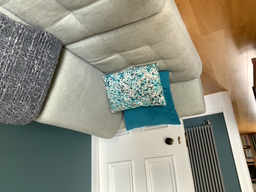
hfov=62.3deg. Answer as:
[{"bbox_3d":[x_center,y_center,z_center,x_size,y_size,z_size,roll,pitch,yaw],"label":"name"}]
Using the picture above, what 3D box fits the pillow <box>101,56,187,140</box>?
[{"bbox_3d":[0.100,0.010,1.460,0.400,0.400,0.160,-49,149,4],"label":"pillow"}]
